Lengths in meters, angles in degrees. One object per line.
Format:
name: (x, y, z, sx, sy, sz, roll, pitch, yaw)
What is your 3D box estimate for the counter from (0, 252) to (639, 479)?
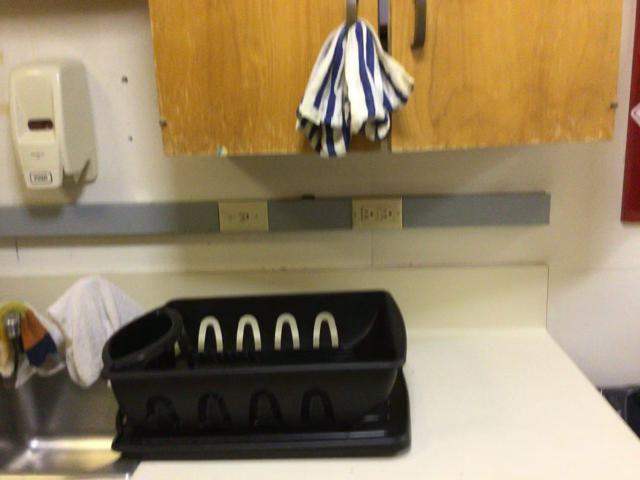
counter: (-0.330, 0.250, 1.090, 1.680, 0.240, 0.670, -2, 12, 5)

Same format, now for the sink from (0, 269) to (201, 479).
sink: (-0.700, 0.320, 1.150, 0.750, 0.360, 0.570, -2, 12, 5)
